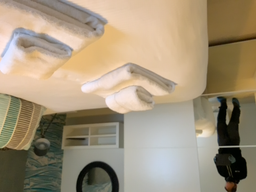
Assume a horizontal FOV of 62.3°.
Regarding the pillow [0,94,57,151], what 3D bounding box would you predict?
[{"bbox_3d":[-0.770,0.200,1.500,0.180,0.330,0.460,9,170,22],"label":"pillow"}]
